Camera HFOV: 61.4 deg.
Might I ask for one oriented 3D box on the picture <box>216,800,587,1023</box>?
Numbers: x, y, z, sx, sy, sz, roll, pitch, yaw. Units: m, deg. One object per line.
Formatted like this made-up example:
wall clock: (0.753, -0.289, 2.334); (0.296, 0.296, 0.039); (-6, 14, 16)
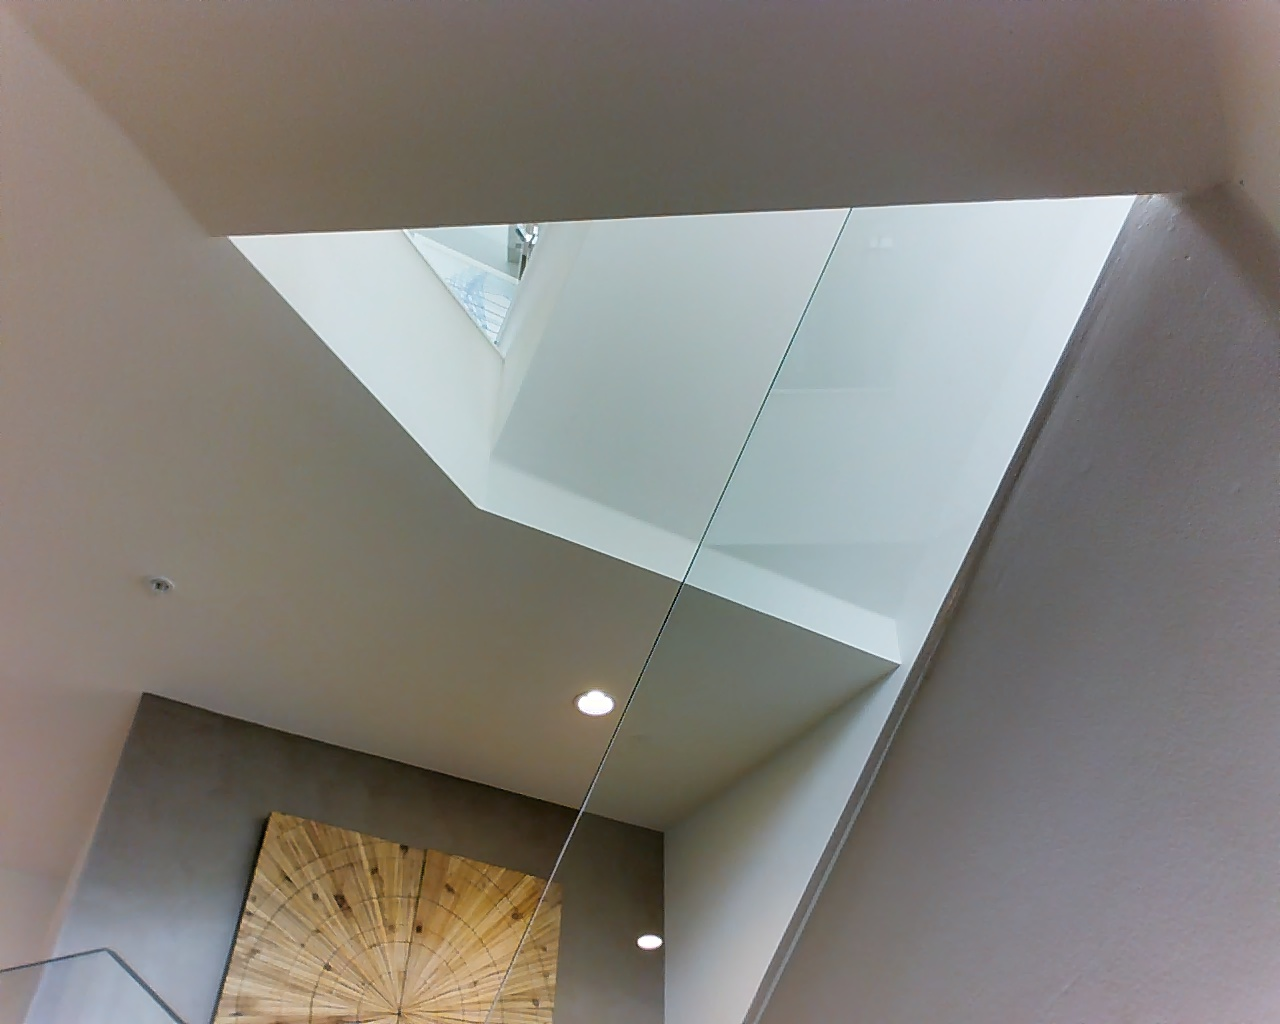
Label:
picture: (-0.610, 1.340, 2.870); (0.960, 0.960, 0.060); (22, -46, -20)
